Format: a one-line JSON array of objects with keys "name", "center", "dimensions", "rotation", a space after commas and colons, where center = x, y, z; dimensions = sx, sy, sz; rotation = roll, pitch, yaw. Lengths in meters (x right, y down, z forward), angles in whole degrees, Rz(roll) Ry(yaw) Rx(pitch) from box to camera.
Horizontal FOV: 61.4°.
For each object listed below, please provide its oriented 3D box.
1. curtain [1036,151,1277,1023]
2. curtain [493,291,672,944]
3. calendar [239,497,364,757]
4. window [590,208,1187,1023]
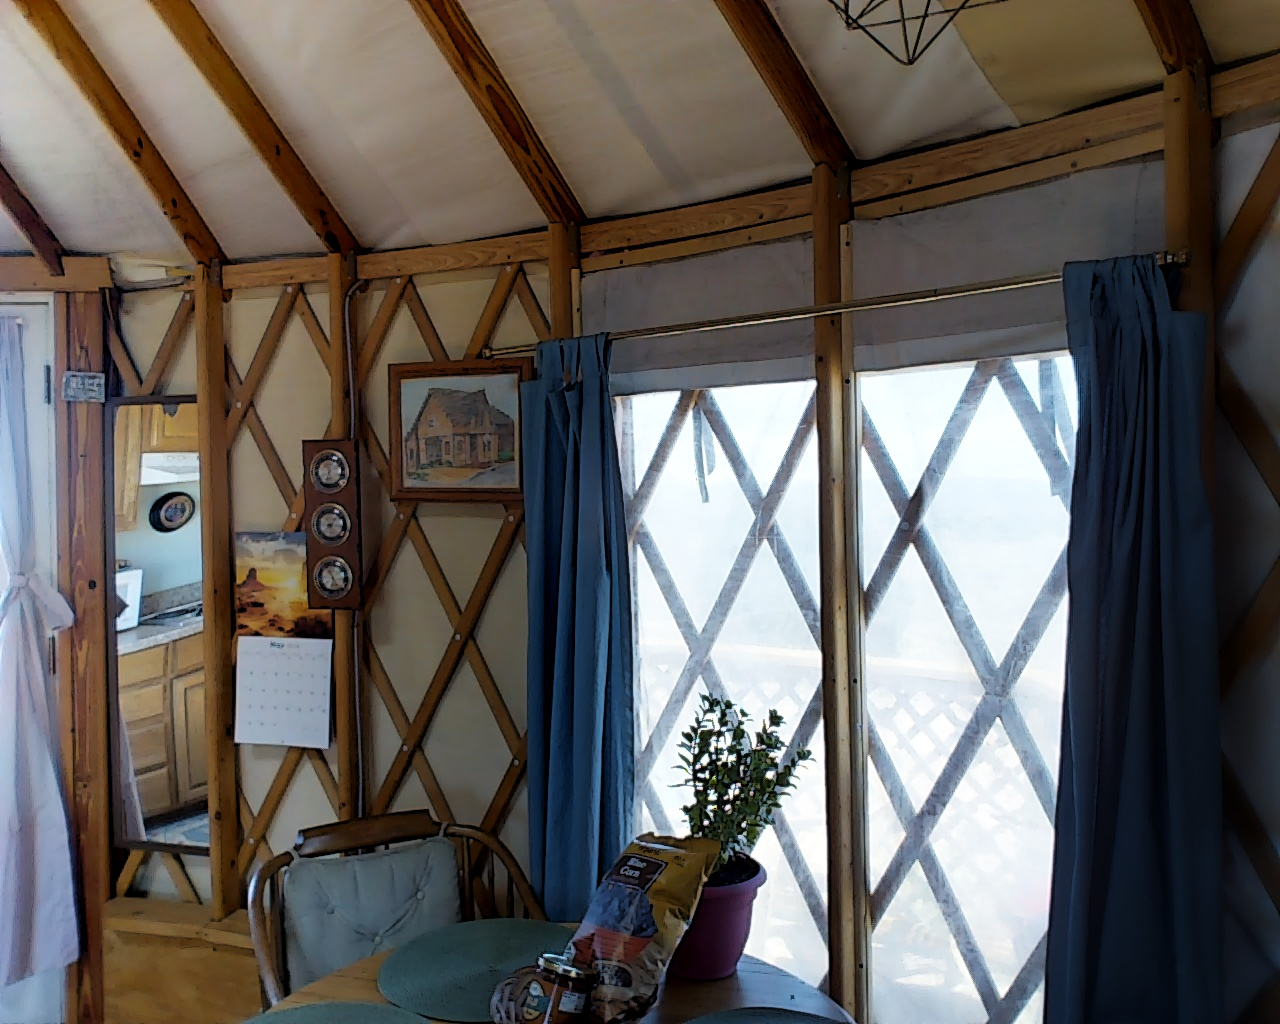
[{"name": "curtain", "center": [0.730, 0.300, 1.530], "dimensions": [0.240, 1.510, 0.230], "rotation": [1, 2, 44]}, {"name": "curtain", "center": [-0.120, 0.200, 2.220], "dimensions": [0.330, 1.240, 0.180], "rotation": [1, 2, 41]}, {"name": "calendar", "center": [-0.890, 0.290, 2.830], "dimensions": [0.340, 0.660, 0.070], "rotation": [0, 1, 22]}, {"name": "window", "center": [0.370, 0.190, 2.050], "dimensions": [1.200, 1.280, 0.140], "rotation": [1, 2, 44]}]
